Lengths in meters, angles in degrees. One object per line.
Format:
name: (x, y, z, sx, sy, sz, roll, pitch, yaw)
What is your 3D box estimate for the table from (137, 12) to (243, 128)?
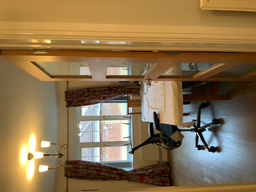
table: (0.650, -0.200, 3.000, 1.860, 0.750, 1.130, 147, 122, -83)

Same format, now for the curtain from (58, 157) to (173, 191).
curtain: (-0.240, 1.680, 4.520, 0.250, 2.380, 0.610, 150, 119, -83)

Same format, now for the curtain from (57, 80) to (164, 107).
curtain: (-0.360, -0.060, 4.570, 0.260, 2.230, 0.550, 146, 123, -83)

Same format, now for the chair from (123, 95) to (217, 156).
chair: (0.500, 0.390, 2.930, 0.720, 1.080, 0.710, 127, 142, -80)
